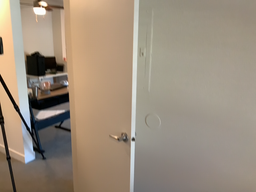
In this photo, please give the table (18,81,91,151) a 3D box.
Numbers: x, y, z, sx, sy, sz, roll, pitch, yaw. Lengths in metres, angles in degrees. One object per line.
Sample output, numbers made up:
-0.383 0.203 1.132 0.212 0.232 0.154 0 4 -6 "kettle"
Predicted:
-1.140 0.250 3.540 0.470 0.800 1.100 9 16 25 "table"
